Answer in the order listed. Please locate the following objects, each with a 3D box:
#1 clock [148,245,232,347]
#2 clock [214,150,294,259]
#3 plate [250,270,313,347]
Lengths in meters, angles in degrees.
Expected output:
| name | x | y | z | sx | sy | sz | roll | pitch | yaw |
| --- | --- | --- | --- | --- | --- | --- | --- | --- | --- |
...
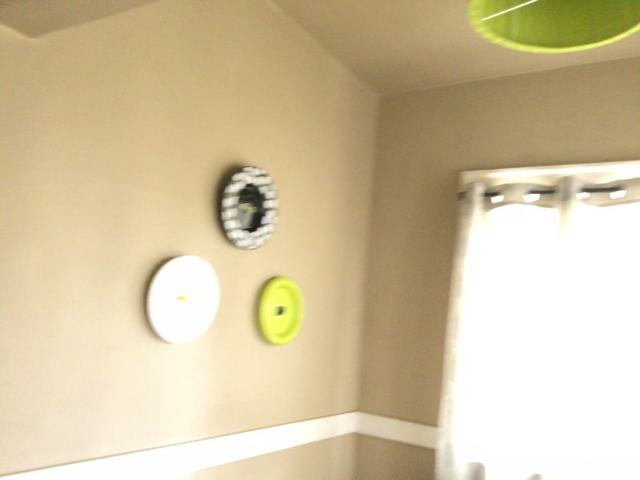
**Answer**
| name | x | y | z | sx | sy | sz | roll | pitch | yaw |
| --- | --- | --- | --- | --- | --- | --- | --- | --- | --- |
| clock | -0.370 | 0.170 | 1.680 | 0.020 | 0.270 | 0.250 | 3 | -9 | 35 |
| clock | -0.210 | -0.110 | 1.920 | 0.040 | 0.300 | 0.290 | 3 | -9 | 35 |
| plate | -0.130 | 0.250 | 2.060 | 0.030 | 0.250 | 0.270 | 3 | -9 | 35 |
